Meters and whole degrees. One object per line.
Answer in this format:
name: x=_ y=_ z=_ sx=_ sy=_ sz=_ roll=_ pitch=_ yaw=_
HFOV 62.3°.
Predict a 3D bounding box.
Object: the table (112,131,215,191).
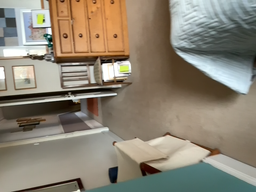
table: x=0.240 y=0.560 z=1.730 sx=0.660 sy=0.540 sz=0.400 roll=175 pitch=90 yaw=-69
